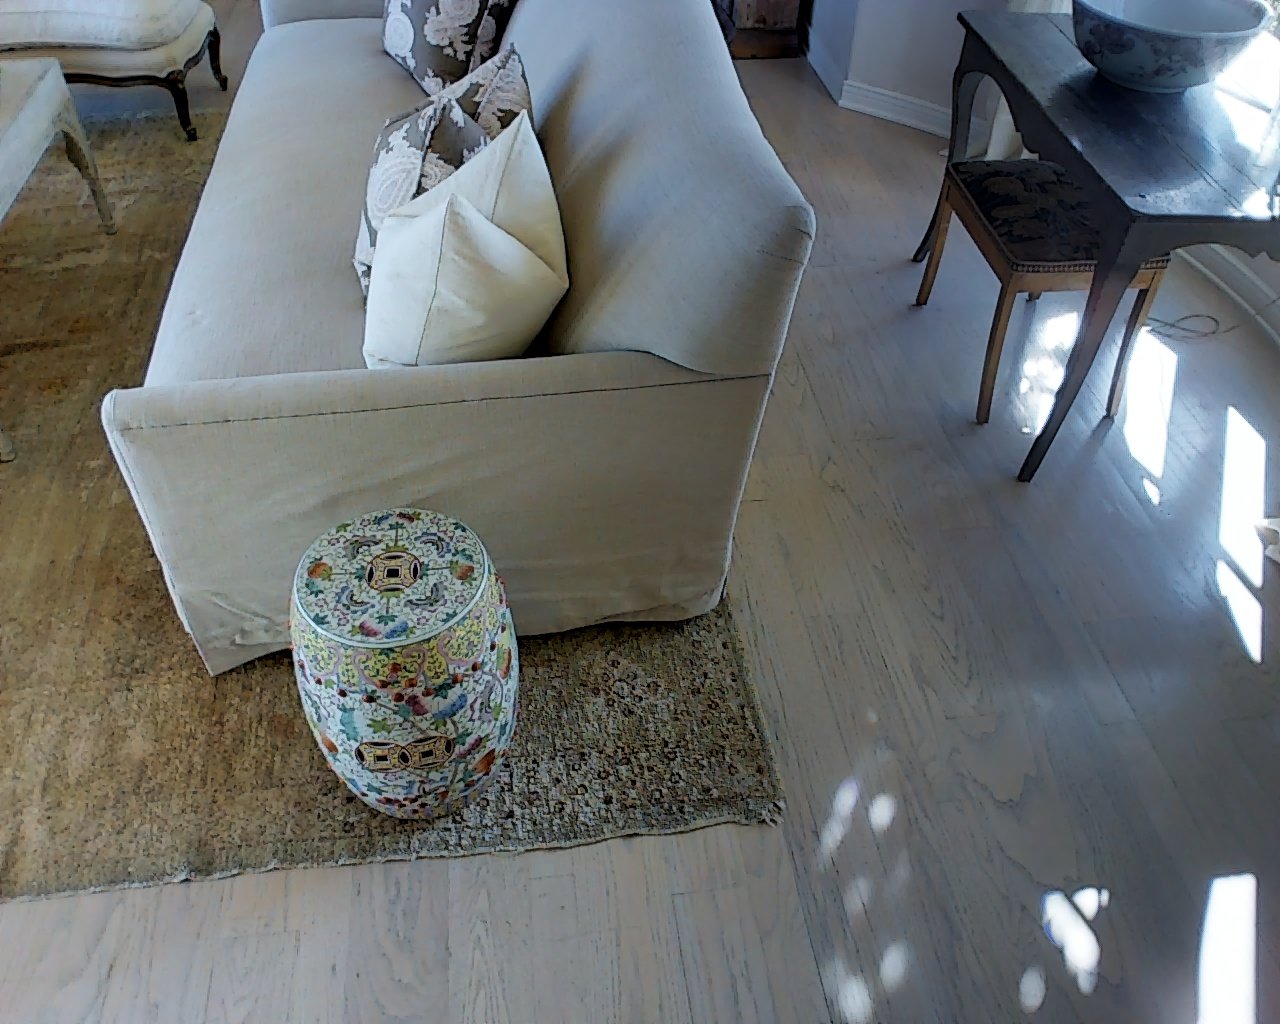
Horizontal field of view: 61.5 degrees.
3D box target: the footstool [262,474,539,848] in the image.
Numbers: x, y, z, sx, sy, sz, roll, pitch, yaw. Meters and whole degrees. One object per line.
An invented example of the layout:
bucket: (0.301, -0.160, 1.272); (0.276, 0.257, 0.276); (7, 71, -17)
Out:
footstool: (-0.370, 0.250, 1.790); (0.350, 0.470, 0.370); (-5, 43, -5)
